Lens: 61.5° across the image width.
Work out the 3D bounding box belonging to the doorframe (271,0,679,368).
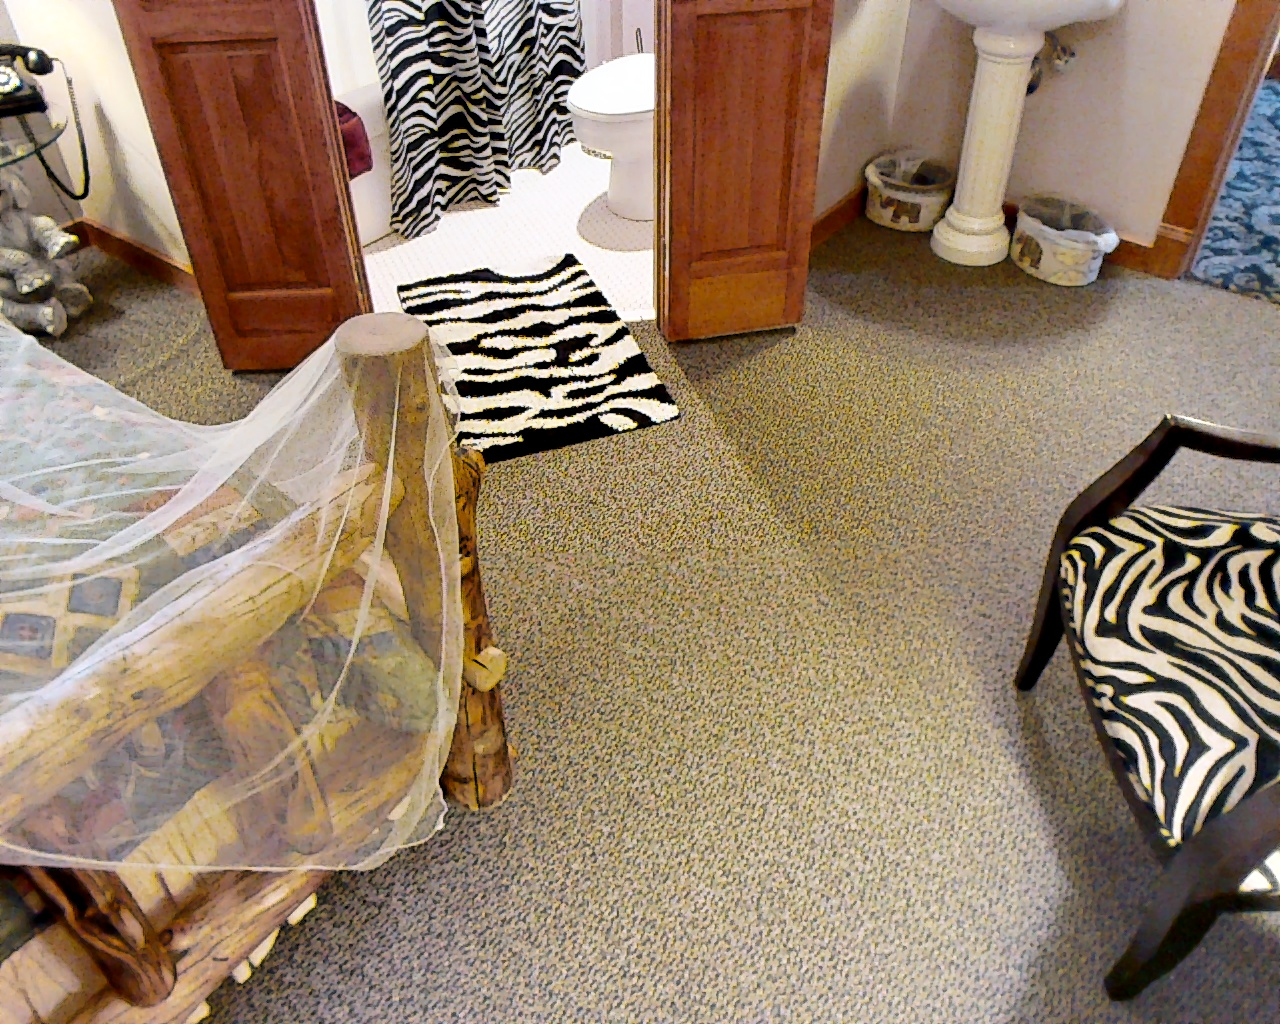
[{"bbox_3d":[-0.360,-1.400,2.150,0.850,2.380,0.260,-6,42,-6],"label":"doorframe"}]

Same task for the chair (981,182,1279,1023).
[{"bbox_3d":[1.020,0.150,1.490,0.760,0.960,0.690,1,41,2],"label":"chair"}]
